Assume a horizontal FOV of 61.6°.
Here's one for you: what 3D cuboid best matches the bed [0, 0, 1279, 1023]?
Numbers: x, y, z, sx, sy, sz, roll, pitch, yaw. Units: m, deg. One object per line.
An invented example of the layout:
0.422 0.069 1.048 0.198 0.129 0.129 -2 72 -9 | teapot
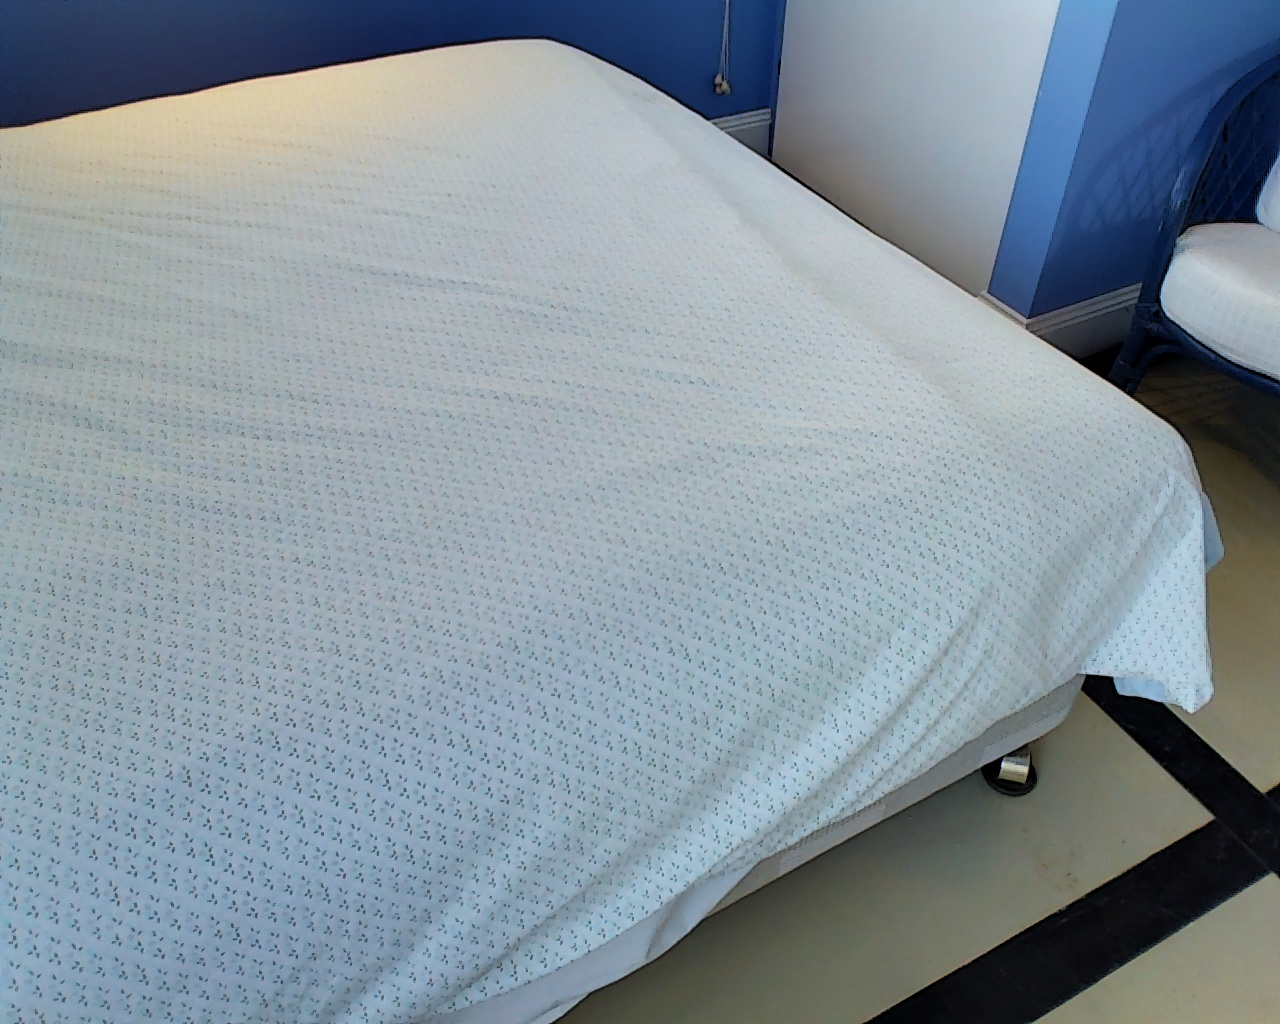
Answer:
-0.590 0.030 1.440 2.250 0.670 1.840 -18 44 -20 | bed
